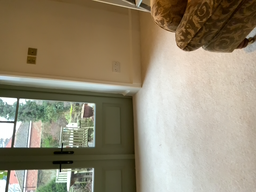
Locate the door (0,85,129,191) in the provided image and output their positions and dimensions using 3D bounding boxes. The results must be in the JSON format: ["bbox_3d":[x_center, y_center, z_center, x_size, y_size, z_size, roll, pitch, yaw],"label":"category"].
[{"bbox_3d":[-0.930,0.770,2.580,0.100,1.920,1.780,137,134,-63],"label":"door"}]
